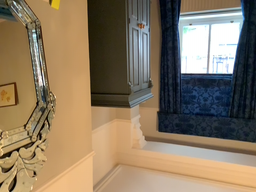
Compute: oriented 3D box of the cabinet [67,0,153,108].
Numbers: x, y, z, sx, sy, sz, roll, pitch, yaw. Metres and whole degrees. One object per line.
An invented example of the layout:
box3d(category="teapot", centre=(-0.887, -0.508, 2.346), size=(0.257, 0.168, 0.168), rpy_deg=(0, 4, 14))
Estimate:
box3d(category="cabinet", centre=(-0.150, -0.940, 2.490), size=(0.670, 1.980, 0.910), rpy_deg=(2, -171, 22))
